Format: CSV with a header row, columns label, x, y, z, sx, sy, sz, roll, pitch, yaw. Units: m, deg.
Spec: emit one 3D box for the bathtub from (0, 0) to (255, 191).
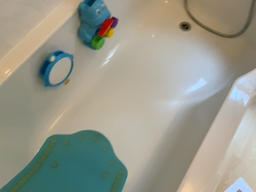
label,x,y,z,sx,sy,sz,roll,pitch,yaw
bathtub,0.060,0.010,0.940,0.830,0.570,1.690,33,70,9
